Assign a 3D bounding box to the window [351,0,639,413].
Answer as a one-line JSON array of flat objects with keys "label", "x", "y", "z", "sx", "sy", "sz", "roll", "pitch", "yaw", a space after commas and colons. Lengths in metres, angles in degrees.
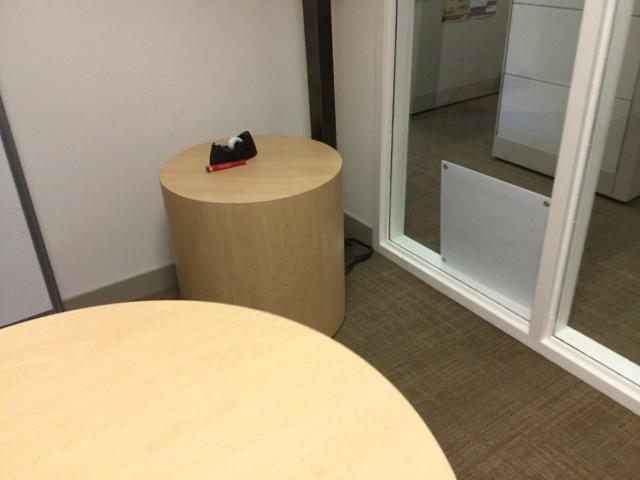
[{"label": "window", "x": 0.740, "y": -0.190, "z": 1.710, "sx": 0.270, "sy": 1.130, "sz": 1.660, "roll": -22, "pitch": 34, "yaw": -30}]
